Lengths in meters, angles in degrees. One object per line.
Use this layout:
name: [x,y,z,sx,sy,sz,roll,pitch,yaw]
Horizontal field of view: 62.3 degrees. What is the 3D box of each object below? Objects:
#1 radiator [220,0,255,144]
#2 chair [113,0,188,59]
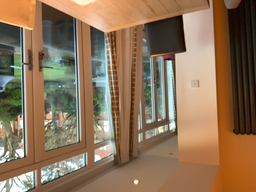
radiator: [1.420,-0.440,2.480,0.540,1.970,0.130,-3,178,27]
chair: [0.230,-0.940,1.970,0.480,1.030,0.680,-3,178,24]
